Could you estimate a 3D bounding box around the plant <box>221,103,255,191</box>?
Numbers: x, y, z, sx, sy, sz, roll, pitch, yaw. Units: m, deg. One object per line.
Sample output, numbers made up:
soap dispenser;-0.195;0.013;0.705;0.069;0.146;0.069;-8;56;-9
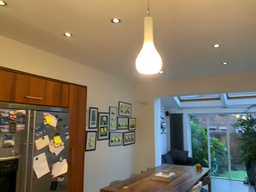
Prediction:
plant;3.250;1.350;5.970;0.960;2.200;1.000;-4;-9;31
